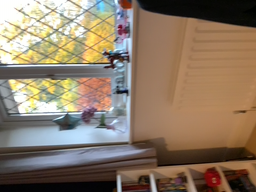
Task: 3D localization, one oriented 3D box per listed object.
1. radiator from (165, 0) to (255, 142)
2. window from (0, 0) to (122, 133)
[{"bbox_3d":[0.600,-0.110,1.370,0.170,0.530,1.130,-96,6,-46],"label":"radiator"},{"bbox_3d":[-0.580,-0.390,1.420,0.130,1.080,1.600,-97,7,-55],"label":"window"}]
